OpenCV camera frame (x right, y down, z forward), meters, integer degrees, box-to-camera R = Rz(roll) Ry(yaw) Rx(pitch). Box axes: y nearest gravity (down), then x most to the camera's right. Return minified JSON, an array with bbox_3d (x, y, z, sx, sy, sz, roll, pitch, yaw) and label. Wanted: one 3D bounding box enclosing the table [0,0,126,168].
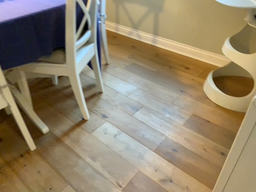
[{"bbox_3d":[-0.930,-0.270,1.410,1.100,0.740,1.530,26,46,29],"label":"table"}]
